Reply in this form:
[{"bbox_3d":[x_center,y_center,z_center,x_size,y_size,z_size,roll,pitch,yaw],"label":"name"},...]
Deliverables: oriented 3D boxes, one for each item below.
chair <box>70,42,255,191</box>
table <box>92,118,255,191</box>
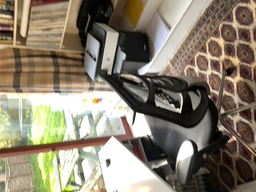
[{"bbox_3d":[0.280,0.160,1.360,0.690,1.050,0.660,52,133,46],"label":"chair"},{"bbox_3d":[0.320,0.760,1.630,1.340,0.720,0.760,24,111,57],"label":"table"}]
